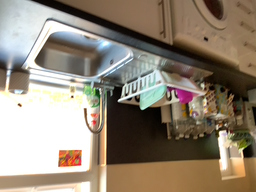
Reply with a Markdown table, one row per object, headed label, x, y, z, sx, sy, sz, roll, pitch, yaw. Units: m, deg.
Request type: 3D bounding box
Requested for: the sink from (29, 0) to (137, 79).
| label | x | y | z | sx | sy | sz | roll | pitch | yaw |
| --- | --- | --- | --- | --- | --- | --- | --- | --- | --- |
| sink | -0.240 | -0.260 | 1.050 | 0.360 | 0.170 | 0.450 | 9 | 162 | -34 |
